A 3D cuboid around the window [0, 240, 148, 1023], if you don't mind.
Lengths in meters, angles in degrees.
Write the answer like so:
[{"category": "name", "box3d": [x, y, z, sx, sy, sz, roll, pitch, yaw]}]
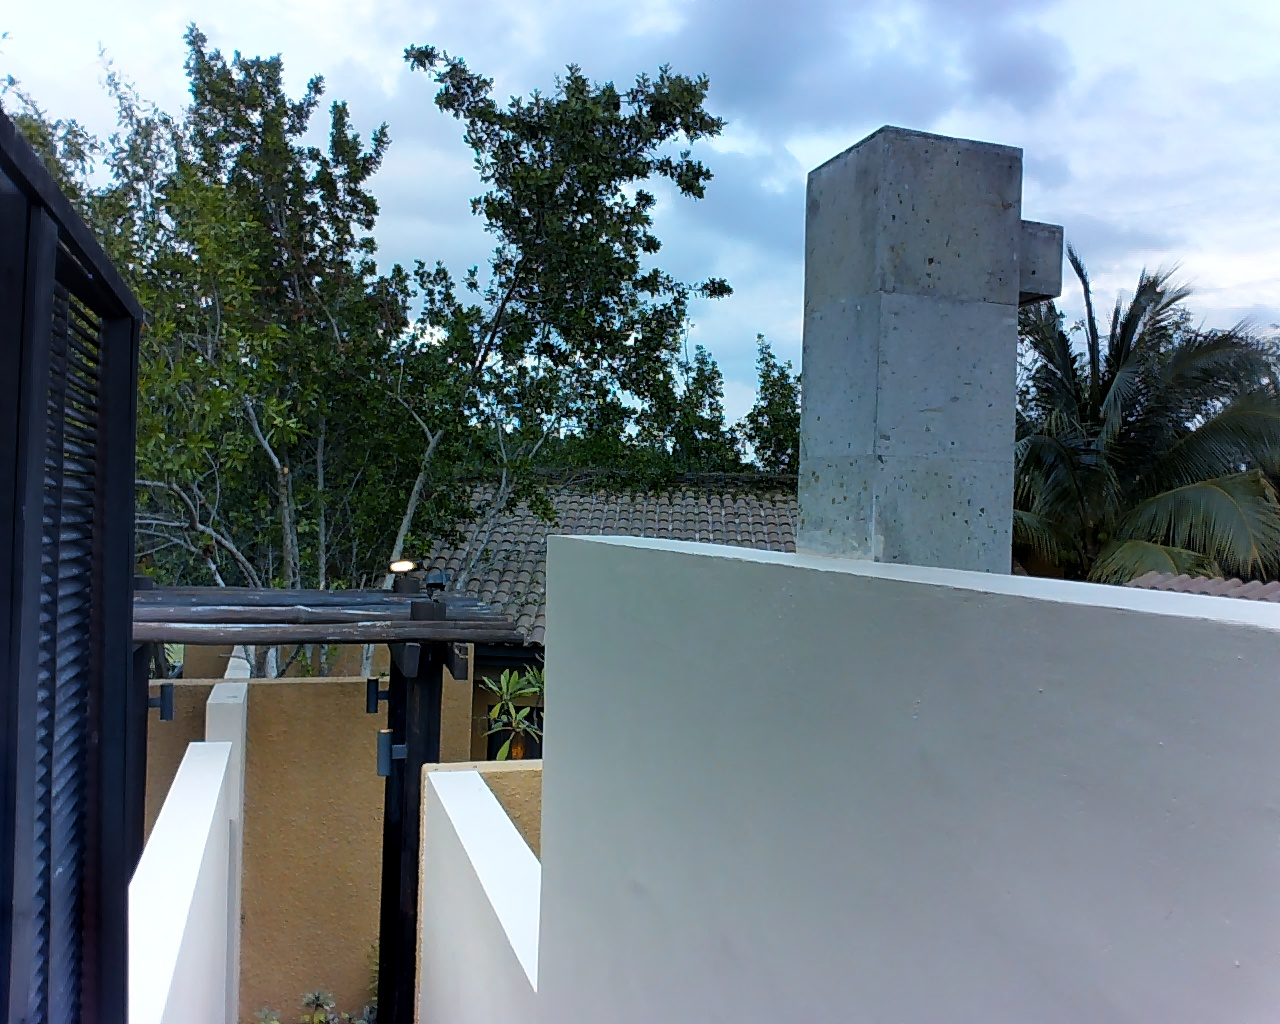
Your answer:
[{"category": "window", "box3d": [-1.160, 0.510, 2.210, 0.100, 1.921, 0.880, 2, 0, -17]}]
